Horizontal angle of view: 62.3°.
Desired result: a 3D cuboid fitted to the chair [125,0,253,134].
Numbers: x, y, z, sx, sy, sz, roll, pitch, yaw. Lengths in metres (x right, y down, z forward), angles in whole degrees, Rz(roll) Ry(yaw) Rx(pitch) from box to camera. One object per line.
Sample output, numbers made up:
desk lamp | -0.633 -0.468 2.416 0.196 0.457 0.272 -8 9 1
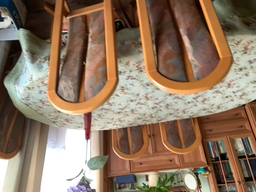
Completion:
chair | 0.240 -0.380 1.170 0.400 1.030 0.470 -10 153 11

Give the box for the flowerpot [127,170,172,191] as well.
flowerpot | 0.340 1.360 3.210 0.610 0.350 0.460 -9 153 8

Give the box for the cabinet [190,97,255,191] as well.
cabinet | 1.540 1.050 3.160 0.790 1.980 0.420 -9 153 8

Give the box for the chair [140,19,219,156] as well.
chair | 0.380 -0.070 1.810 0.410 1.020 0.470 -8 153 6

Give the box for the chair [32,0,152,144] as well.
chair | -0.160 -0.310 1.240 0.400 1.030 0.490 -10 153 11
